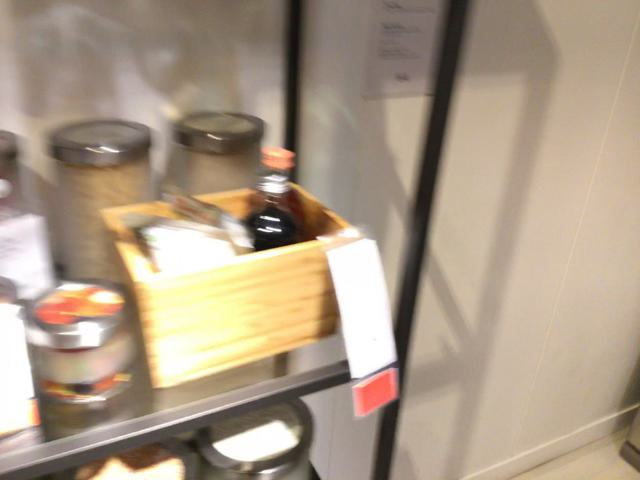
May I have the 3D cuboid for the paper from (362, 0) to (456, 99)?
[{"bbox_3d":[0.140,-0.310,0.900,0.150,0.170,0.010,-10,30,-26],"label":"paper"}]

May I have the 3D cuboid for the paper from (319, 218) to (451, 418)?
[{"bbox_3d":[0.070,0.090,0.680,0.100,0.200,0.090,-10,30,-26],"label":"paper"}]

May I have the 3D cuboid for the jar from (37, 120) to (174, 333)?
[{"bbox_3d":[-0.260,-0.020,0.710,0.120,0.220,0.110,-10,30,-26],"label":"jar"}]
